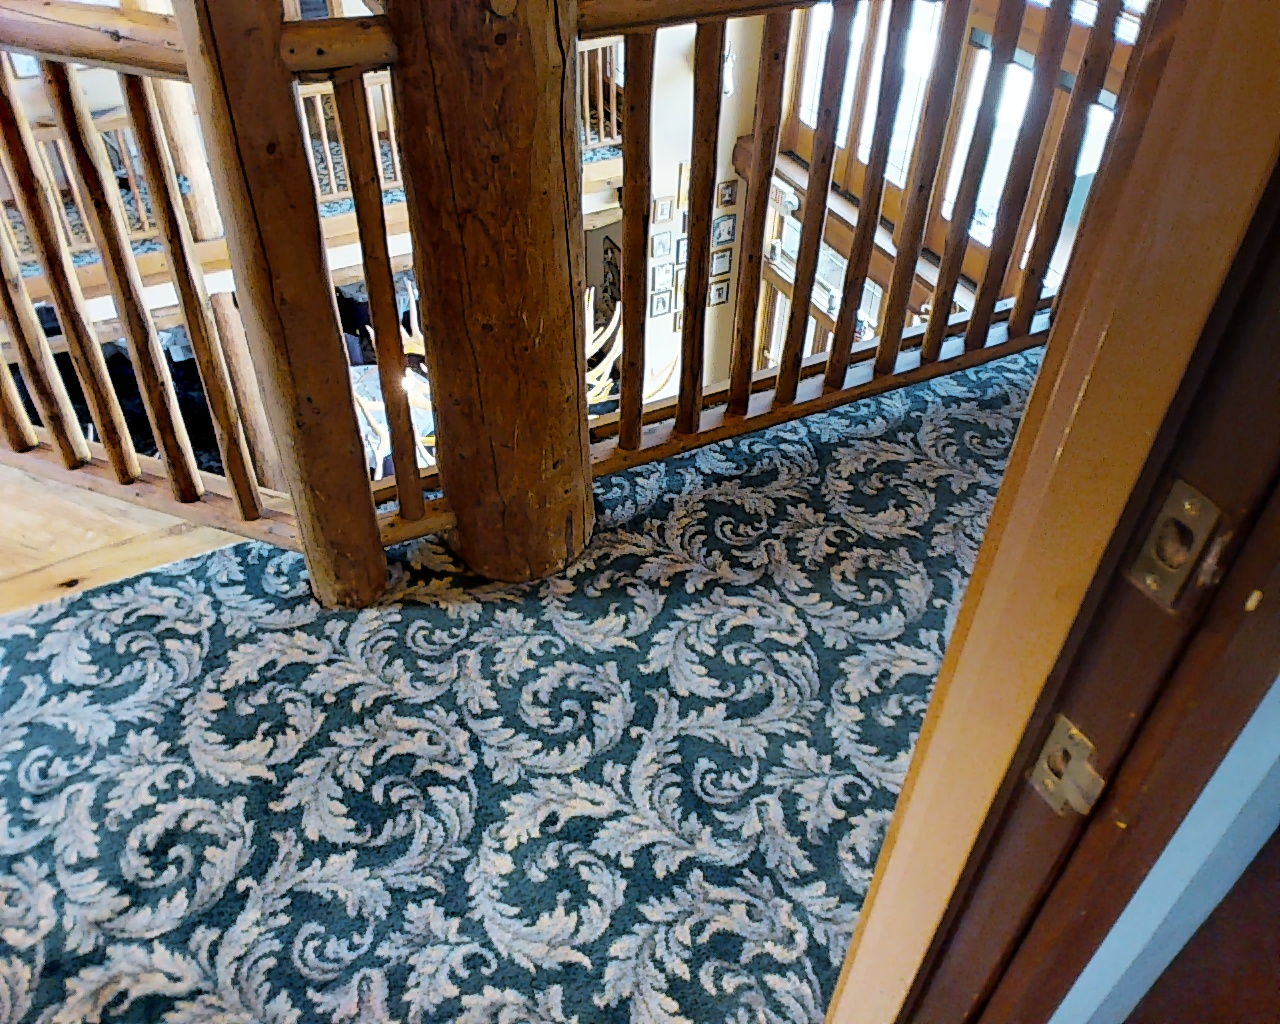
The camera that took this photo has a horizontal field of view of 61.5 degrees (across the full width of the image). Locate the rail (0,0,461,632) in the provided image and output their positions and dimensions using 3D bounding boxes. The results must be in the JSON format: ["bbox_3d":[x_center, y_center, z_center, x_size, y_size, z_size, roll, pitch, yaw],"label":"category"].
[{"bbox_3d":[-0.770,-0.440,1.780,0.790,1.360,0.260,13,43,12],"label":"rail"}]

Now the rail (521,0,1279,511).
[{"bbox_3d":[0.890,-0.850,2.480,2.330,1.090,0.340,-18,46,-21],"label":"rail"}]
